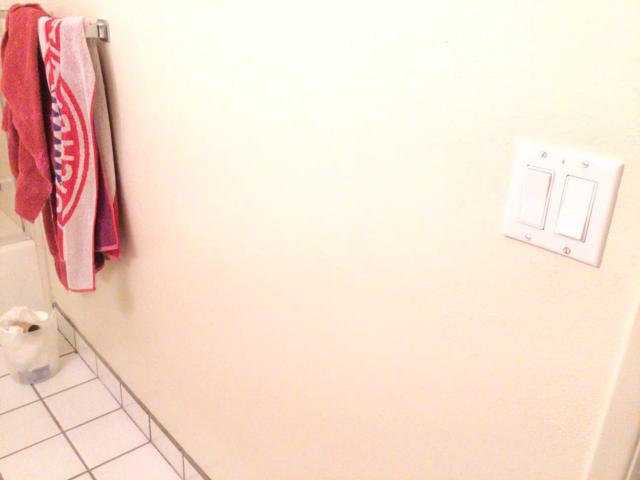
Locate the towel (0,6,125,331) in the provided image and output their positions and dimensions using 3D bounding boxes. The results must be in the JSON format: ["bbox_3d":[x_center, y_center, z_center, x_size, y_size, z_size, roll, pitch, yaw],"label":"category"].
[{"bbox_3d":[-0.810,-0.210,1.710,0.220,0.890,0.290,-20,29,-37],"label":"towel"}]

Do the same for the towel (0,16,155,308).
[{"bbox_3d":[-0.630,-0.210,1.520,0.180,0.700,0.290,-20,29,-37],"label":"towel"}]

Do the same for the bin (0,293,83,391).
[{"bbox_3d":[-1.010,0.360,2.080,0.200,0.230,0.200,-20,29,-37],"label":"bin"}]
